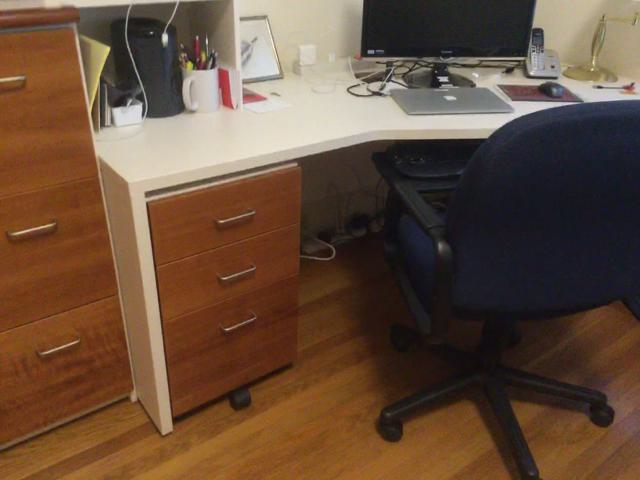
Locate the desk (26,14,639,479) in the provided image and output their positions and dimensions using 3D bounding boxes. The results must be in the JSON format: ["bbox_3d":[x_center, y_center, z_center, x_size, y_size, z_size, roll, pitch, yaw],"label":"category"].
[{"bbox_3d":[0.680,0.160,1.340,1.790,0.960,2.430,-16,34,-35],"label":"desk"}]

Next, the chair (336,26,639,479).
[{"bbox_3d":[0.450,0.050,1.420,0.660,0.960,0.650,2,27,-7],"label":"chair"}]

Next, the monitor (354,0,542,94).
[{"bbox_3d":[0.400,-0.710,1.820,0.520,0.430,0.170,1,27,-9],"label":"monitor"}]
